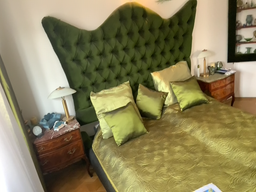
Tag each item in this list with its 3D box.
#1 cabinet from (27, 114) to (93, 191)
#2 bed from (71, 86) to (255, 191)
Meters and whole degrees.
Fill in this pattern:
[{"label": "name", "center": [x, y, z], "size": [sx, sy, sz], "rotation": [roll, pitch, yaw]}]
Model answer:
[{"label": "cabinet", "center": [-0.770, 0.660, 2.430], "size": [0.510, 0.690, 0.390], "rotation": [-18, 23, -24]}, {"label": "bed", "center": [0.730, 0.640, 2.160], "size": [1.990, 0.490, 2.280], "rotation": [-18, 23, -24]}]
